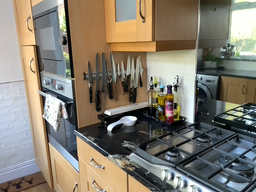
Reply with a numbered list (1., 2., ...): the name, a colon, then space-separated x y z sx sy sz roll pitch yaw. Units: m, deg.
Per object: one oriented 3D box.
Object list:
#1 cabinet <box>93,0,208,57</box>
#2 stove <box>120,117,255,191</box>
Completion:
1. cabinet: 0.120 -0.660 1.140 0.490 0.840 0.400 -12 18 -36
2. stove: 0.400 0.260 0.820 0.580 0.060 0.670 -12 18 -36
